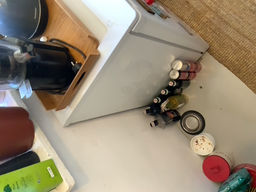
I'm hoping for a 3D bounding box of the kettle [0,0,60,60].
[{"bbox_3d":[-0.410,-0.270,0.720,0.180,0.220,0.210,49,117,20],"label":"kettle"}]
